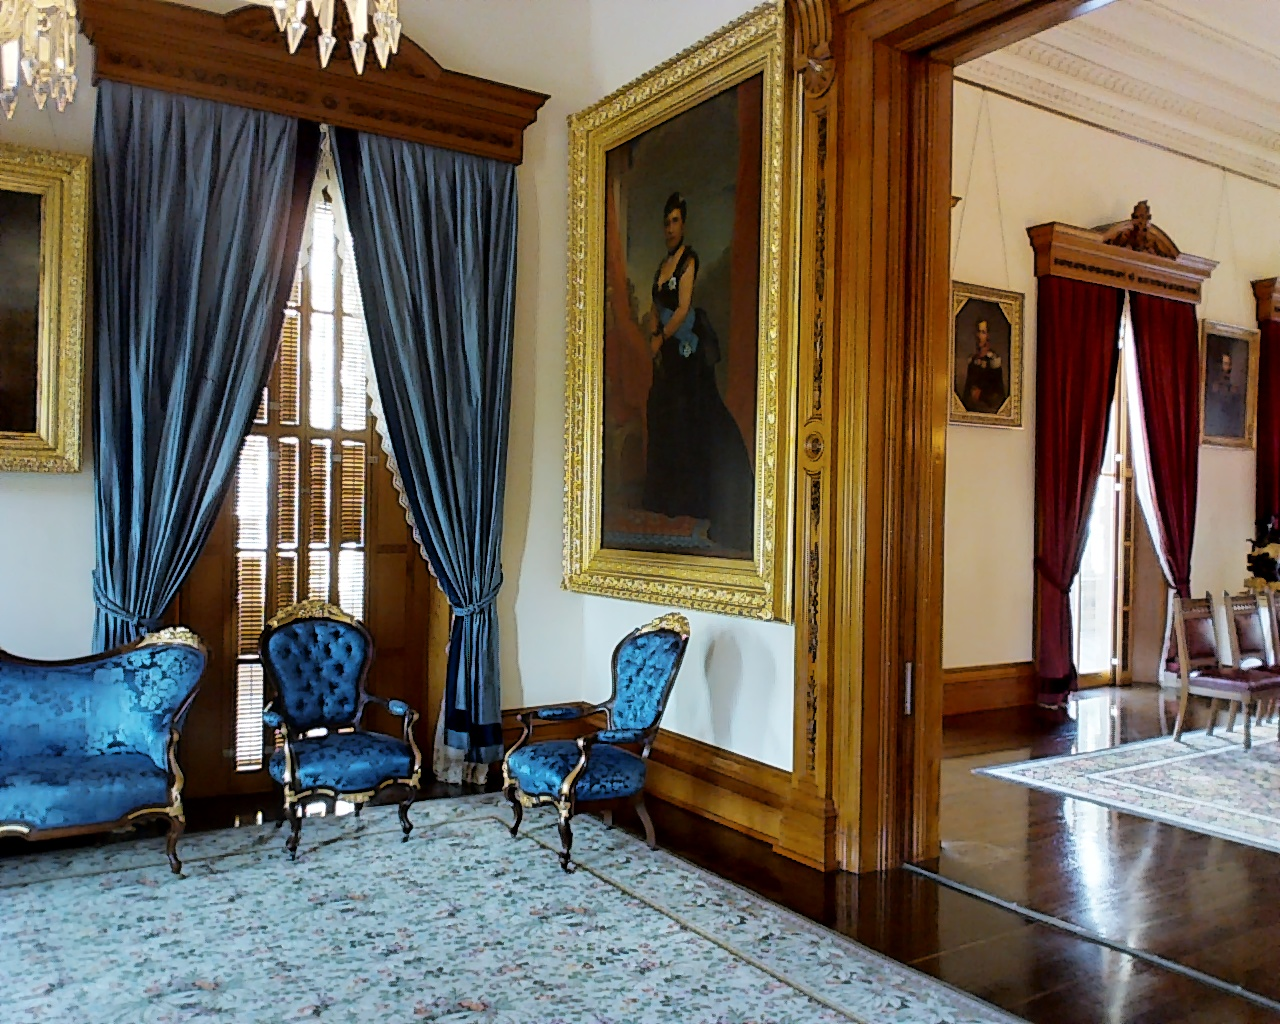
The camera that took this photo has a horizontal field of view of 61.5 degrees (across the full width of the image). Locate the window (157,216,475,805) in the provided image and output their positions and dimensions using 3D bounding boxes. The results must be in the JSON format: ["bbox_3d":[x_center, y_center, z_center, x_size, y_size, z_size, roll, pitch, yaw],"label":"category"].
[{"bbox_3d":[-1.740,0.000,5.910,1.600,2.920,0.340,1,1,-33],"label":"window"}]

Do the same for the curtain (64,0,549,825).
[{"bbox_3d":[-1.680,-0.710,5.780,2.440,4.351,0.310,1,1,-33],"label":"curtain"}]

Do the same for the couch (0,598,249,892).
[{"bbox_3d":[-2.850,0.930,4.360,2.220,1.010,0.910,1,1,-33],"label":"couch"}]
